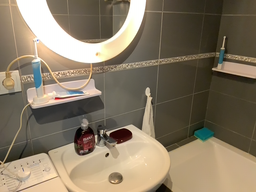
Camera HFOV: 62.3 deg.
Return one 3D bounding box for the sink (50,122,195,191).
[{"bbox_3d":[-0.030,0.320,0.970,0.500,0.140,0.410,-12,24,-35],"label":"sink"}]
